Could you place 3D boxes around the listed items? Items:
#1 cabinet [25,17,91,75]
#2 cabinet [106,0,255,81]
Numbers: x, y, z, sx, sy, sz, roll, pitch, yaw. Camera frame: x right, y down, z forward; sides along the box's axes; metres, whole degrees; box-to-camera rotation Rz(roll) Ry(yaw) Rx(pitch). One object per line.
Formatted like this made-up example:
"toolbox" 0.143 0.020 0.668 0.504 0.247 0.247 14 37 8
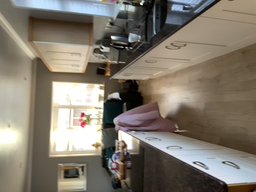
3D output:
"cabinet" -1.290 -0.790 4.250 2.940 0.830 0.340 174 98 -75
"cabinet" 0.450 -0.690 2.700 3.570 0.880 0.590 174 98 -75
